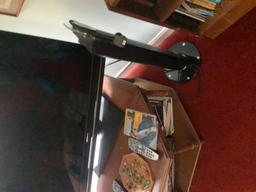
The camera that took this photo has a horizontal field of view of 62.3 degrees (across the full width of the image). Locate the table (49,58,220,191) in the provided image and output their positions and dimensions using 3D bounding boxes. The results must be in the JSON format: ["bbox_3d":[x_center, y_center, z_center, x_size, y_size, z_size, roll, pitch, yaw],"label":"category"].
[{"bbox_3d":[-0.050,0.310,1.430,0.920,0.440,0.930,22,106,41],"label":"table"}]
